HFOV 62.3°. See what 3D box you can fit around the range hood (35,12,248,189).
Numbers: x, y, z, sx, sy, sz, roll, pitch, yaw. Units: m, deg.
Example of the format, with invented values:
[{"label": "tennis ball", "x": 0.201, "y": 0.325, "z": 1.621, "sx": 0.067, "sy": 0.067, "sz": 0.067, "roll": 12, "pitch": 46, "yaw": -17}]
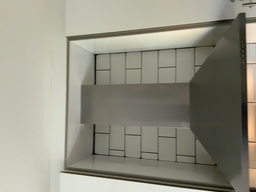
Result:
[{"label": "range hood", "x": 0.070, "y": 0.020, "z": 1.020, "sx": 0.480, "sy": 0.800, "sz": 0.560, "roll": 13, "pitch": -102, "yaw": -72}]
